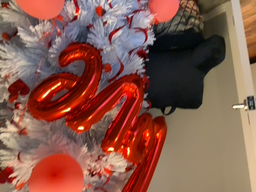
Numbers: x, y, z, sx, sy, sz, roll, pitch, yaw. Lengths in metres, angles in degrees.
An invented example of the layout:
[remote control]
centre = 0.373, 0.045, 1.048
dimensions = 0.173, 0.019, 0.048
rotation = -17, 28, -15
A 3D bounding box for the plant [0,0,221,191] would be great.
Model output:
[plant]
centre = -0.250, 0.140, 1.100
dimensions = 1.040, 2.110, 0.920
rotation = 9, 164, -41
